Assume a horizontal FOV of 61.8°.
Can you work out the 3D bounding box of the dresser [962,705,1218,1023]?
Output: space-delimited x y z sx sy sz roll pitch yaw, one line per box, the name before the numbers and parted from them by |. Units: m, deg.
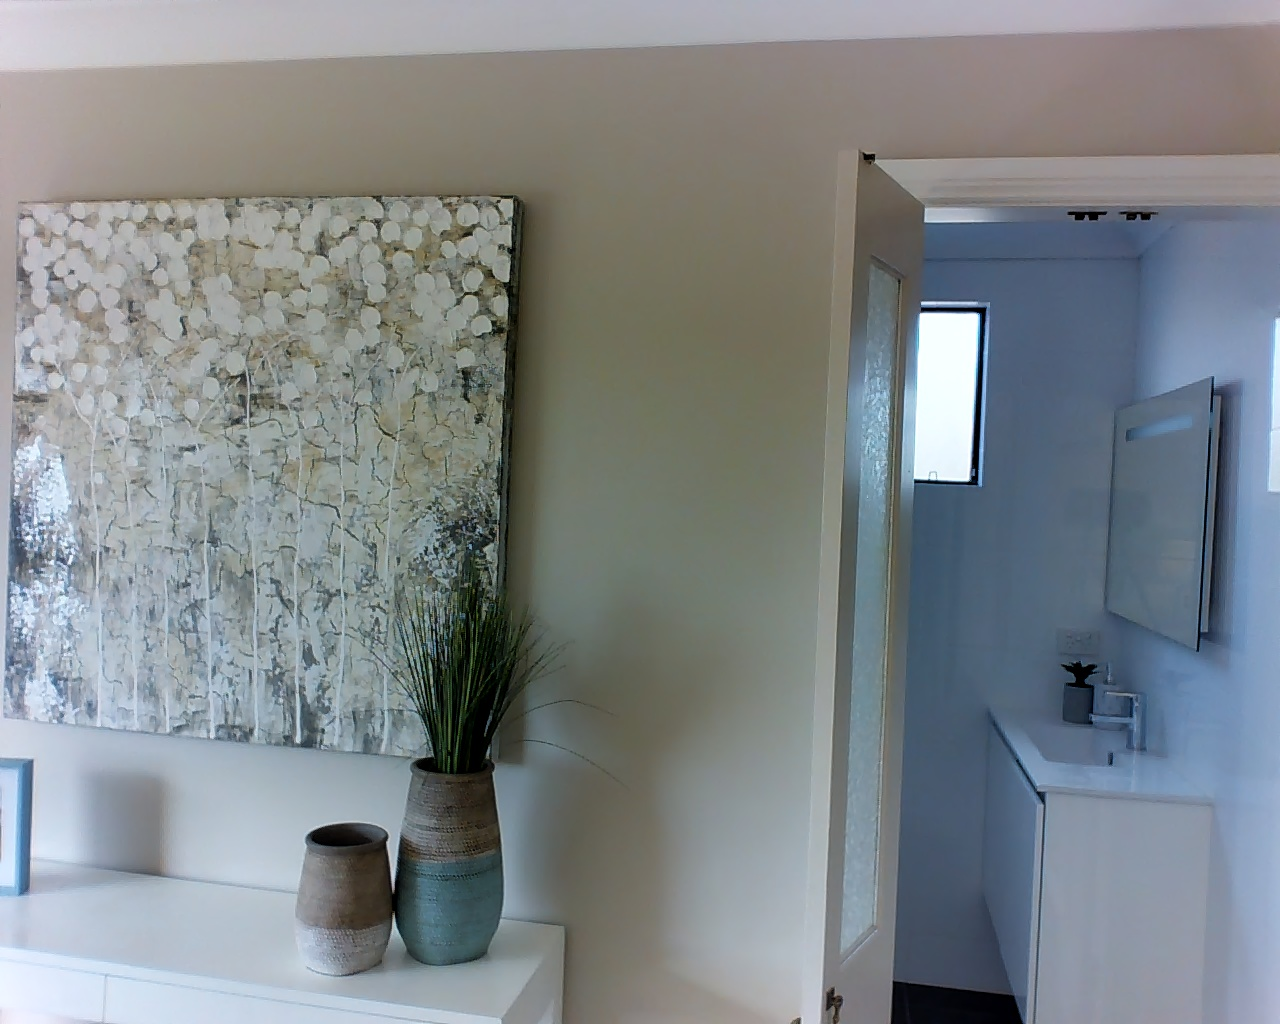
dresser | 1.110 0.910 2.780 0.420 0.620 0.930 2 1 12
